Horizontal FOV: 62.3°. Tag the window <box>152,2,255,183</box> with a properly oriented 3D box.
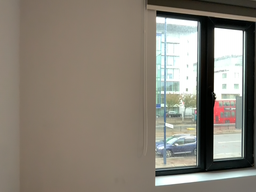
[{"bbox_3d":[0.710,-0.020,1.870,1.020,1.460,0.050,1,1,-15],"label":"window"}]
